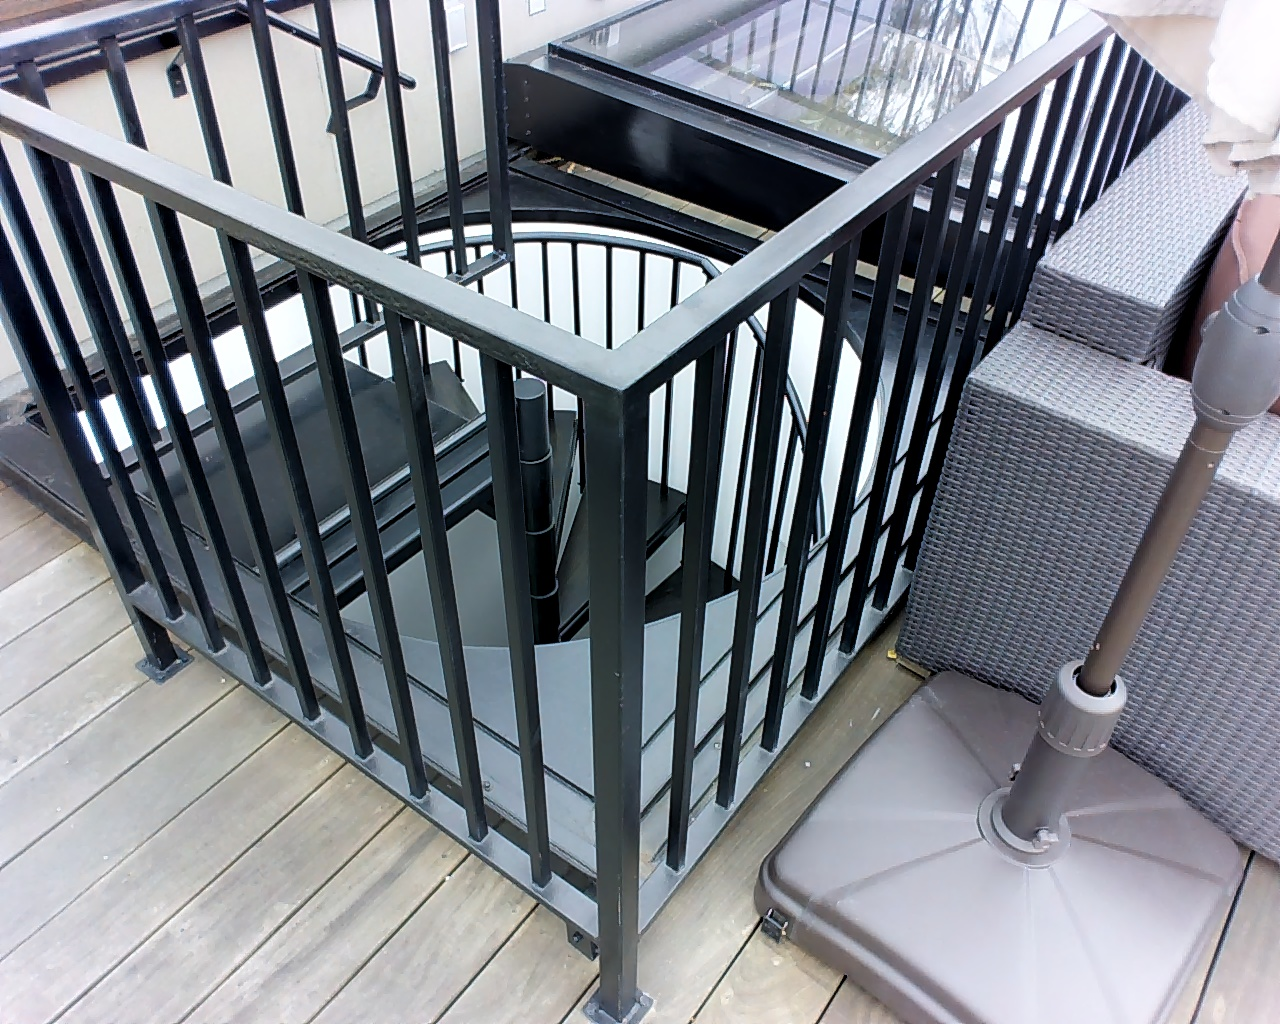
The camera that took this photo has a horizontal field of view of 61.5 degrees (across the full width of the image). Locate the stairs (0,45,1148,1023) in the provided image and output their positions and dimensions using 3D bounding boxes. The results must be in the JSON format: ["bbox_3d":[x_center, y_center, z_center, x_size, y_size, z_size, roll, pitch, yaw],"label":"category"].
[{"bbox_3d":[-0.230,-0.270,2.520,2.010,0.630,1.910,28,49,26],"label":"stairs"}]
